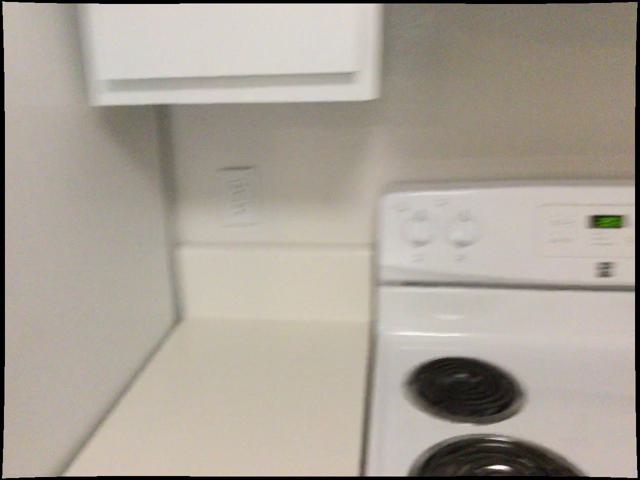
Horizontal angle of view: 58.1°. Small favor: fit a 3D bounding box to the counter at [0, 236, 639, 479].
[{"bbox_3d":[0.459,0.221,0.830,1.636,0.241,0.670,0,20,7],"label":"counter"}]
